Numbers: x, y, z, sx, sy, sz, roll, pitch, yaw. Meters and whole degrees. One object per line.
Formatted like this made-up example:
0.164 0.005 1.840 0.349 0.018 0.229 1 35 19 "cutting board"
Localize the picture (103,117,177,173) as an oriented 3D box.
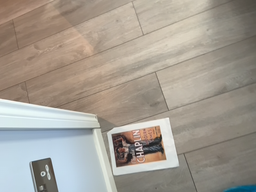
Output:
0.050 0.220 0.960 0.300 0.030 0.200 -12 80 10 "picture"
